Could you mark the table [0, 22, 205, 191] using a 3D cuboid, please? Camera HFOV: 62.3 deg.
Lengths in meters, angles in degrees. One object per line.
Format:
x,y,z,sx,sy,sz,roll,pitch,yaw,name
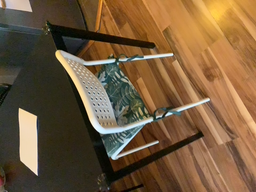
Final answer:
-0.290,0.220,1.380,1.130,0.750,0.650,-35,71,39,table
